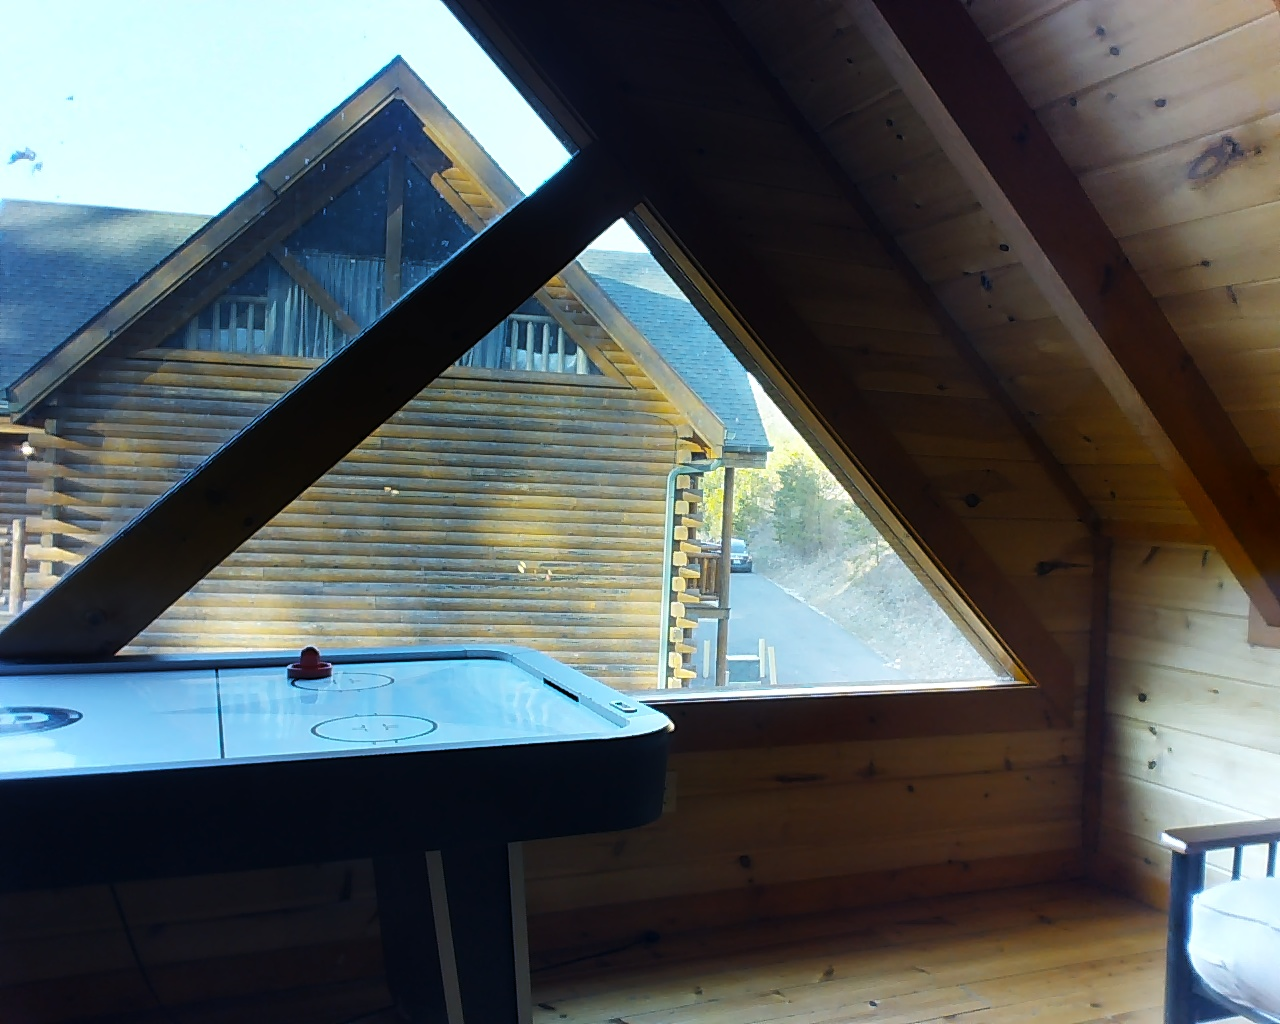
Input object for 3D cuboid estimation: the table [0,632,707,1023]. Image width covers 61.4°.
[{"bbox_3d":[-1.110,0.680,1.820,2.159,0.780,1.080,2,2,-20],"label":"table"}]
